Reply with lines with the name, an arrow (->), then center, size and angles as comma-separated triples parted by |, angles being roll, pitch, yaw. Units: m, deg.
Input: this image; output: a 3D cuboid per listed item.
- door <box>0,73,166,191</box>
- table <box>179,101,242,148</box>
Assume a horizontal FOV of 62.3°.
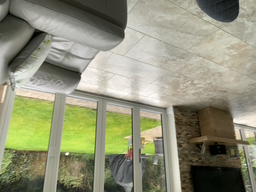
door -> -0.520, 1.050, 3.330 | 2.890, 2.260, 0.110 | 14, 154, -32
table -> 1.720, 0.640, 4.420 | 1.260, 0.730, 0.500 | 14, 154, -32
